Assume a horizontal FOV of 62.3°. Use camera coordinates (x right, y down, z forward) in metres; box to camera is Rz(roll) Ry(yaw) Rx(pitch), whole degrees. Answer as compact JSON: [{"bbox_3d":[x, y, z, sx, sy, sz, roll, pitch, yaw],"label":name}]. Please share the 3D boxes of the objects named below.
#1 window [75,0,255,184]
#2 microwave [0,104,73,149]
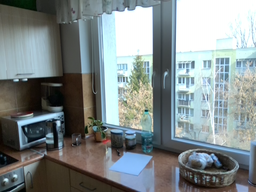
[{"bbox_3d":[0.220,-0.130,1.630,1.550,1.170,0.210,5,10,36],"label":"window"},{"bbox_3d":[-0.860,0.260,2.020,0.440,0.260,0.460,5,10,36],"label":"microwave"}]
